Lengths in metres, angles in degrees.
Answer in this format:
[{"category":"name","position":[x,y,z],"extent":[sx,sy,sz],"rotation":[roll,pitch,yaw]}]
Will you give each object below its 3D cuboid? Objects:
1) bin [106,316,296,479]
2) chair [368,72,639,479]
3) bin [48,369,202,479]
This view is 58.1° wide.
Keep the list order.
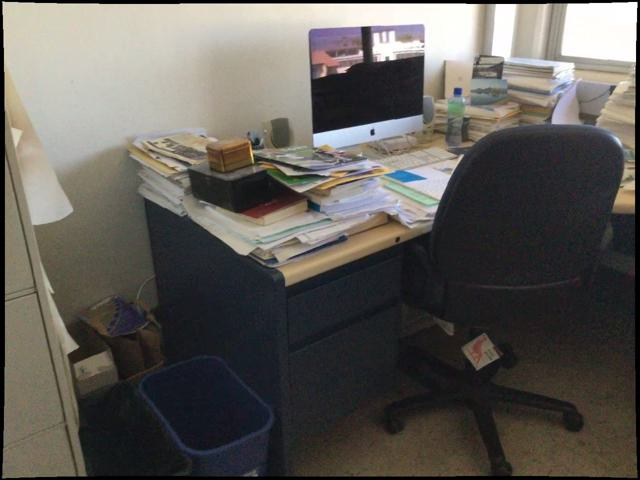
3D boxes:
[{"category":"bin","position":[-0.339,0.561,1.650],"extent":[0.290,0.441,0.520],"rotation":[-20,29,-32]},{"category":"chair","position":[0.509,0.100,1.810],"extent":[0.509,1.082,0.720],"rotation":[-8,25,-9]},{"category":"bin","position":[-0.499,0.652,1.530],"extent":[0.230,0.381,0.450],"rotation":[-20,29,-32]}]
